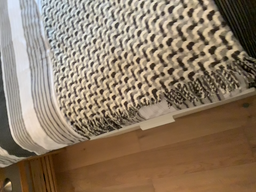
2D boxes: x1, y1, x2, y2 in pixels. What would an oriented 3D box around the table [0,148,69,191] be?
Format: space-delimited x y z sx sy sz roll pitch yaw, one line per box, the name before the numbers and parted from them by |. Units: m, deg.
table | -0.820 0.720 1.840 0.320 0.420 0.390 -22 77 31
